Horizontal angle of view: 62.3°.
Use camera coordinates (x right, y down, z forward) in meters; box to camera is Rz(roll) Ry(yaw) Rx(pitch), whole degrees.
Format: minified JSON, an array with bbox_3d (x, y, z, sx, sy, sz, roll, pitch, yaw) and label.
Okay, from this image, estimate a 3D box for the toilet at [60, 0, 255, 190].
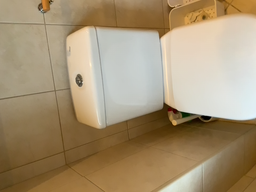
[{"bbox_3d":[0.260,-0.130,0.850,0.670,0.770,0.450,4,103,51],"label":"toilet"}]
